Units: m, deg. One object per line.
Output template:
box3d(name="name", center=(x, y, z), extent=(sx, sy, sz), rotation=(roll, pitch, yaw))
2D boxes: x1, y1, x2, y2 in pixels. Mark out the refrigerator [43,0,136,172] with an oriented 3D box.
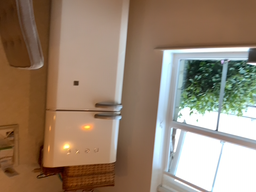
box3d(name="refrigerator", center=(-0.380, -0.300, 1.900), extent=(0.630, 1.710, 0.600), rotation=(3, -174, -21))
